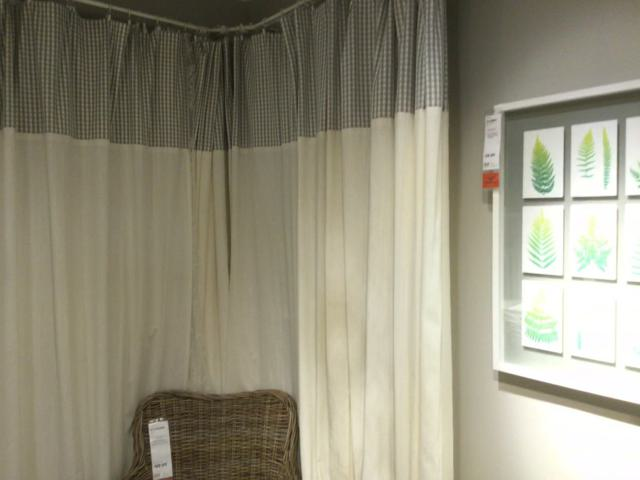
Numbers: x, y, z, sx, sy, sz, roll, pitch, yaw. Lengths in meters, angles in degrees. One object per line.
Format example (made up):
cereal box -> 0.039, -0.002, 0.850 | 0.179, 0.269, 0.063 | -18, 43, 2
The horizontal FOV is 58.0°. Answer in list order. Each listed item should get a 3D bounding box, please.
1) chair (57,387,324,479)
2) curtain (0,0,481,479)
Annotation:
chair -> -0.380, 1.050, 1.970 | 0.750, 0.910, 0.630 | 1, 0, 2
curtain -> -0.480, 0.300, 1.980 | 1.720, 2.440, 1.180 | 1, 0, 2
